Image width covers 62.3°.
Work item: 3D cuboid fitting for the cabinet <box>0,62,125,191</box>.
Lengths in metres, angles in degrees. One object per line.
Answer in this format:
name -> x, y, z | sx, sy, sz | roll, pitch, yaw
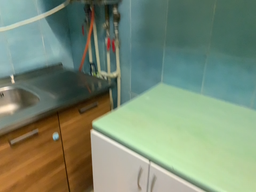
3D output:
cabinet -> -0.550, 0.310, 1.490 | 0.590, 0.820, 0.930 | 20, 31, 35
